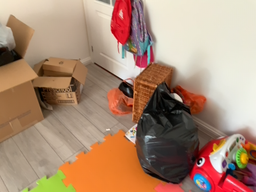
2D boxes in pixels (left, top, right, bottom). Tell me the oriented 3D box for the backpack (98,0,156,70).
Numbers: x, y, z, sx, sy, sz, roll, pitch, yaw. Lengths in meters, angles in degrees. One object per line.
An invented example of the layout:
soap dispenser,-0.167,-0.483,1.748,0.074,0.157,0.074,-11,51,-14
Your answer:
backpack,-0.030,-0.610,1.800,0.160,0.600,0.500,-30,49,-31
